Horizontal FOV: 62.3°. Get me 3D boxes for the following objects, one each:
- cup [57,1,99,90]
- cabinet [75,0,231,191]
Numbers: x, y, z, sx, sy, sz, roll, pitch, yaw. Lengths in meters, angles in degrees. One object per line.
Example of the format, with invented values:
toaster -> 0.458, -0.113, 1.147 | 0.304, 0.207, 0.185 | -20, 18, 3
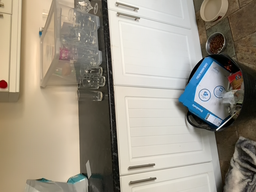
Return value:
cup -> -0.380, -0.330, 1.530 | 0.400, 0.170, 0.480 | -25, 67, 57
cabinet -> 0.150, 0.260, 1.620 | 0.610, 0.890, 2.570 | -24, 67, 57
